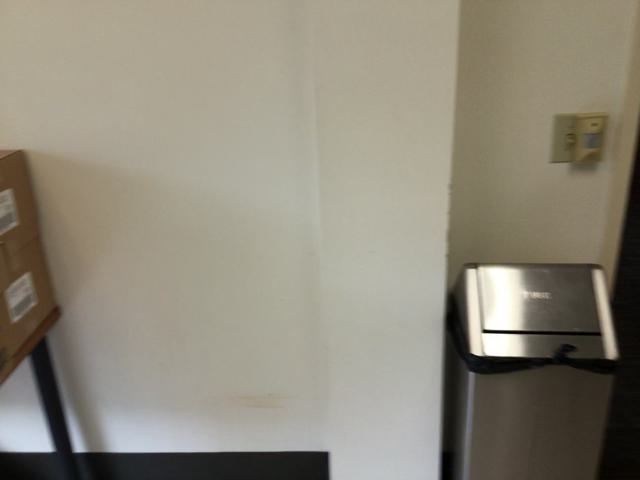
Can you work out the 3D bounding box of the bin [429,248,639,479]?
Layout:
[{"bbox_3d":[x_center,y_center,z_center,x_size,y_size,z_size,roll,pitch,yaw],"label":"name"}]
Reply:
[{"bbox_3d":[0.530,0.500,1.570,0.400,0.910,0.280,-2,22,2],"label":"bin"}]
